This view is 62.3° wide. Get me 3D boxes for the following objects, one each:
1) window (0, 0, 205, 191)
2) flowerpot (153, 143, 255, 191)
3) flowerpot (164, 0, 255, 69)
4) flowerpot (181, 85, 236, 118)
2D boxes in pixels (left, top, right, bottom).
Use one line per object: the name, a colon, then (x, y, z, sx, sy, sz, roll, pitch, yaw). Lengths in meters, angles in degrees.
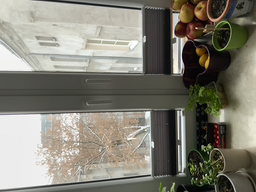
window: (-0.470, -0.060, 0.970, 0.120, 1.740, 1.120, -164, 74, -75)
flowerpot: (0.360, 0.420, 0.950, 0.470, 0.340, 0.280, -166, 76, -75)
flowerpot: (0.340, -0.360, 0.960, 0.430, 0.180, 0.440, -168, 79, -75)
flowerpot: (0.390, 0.020, 1.060, 0.210, 0.160, 0.140, -164, 74, -75)
